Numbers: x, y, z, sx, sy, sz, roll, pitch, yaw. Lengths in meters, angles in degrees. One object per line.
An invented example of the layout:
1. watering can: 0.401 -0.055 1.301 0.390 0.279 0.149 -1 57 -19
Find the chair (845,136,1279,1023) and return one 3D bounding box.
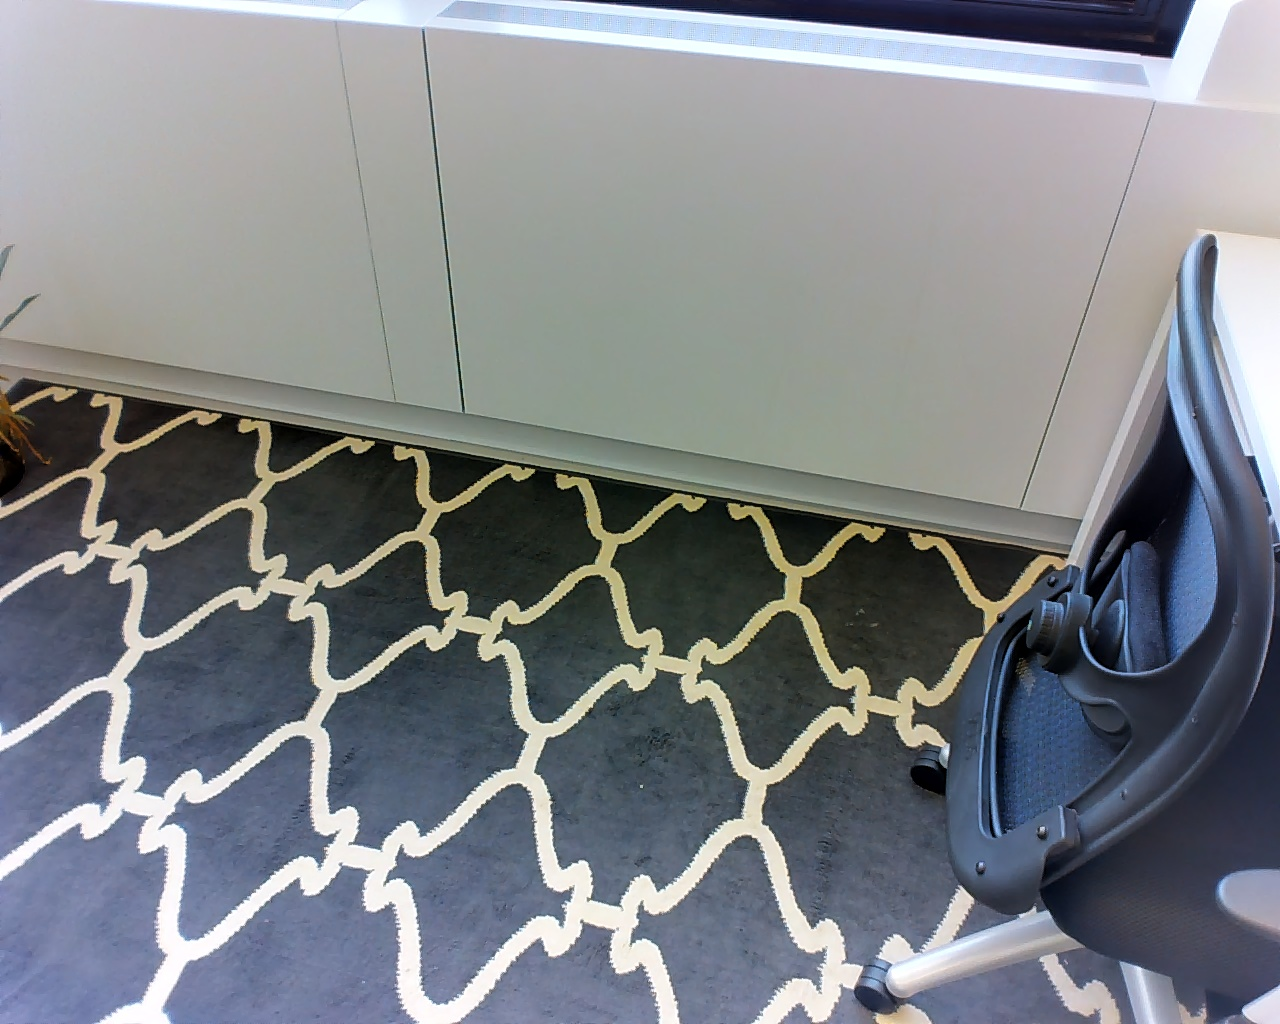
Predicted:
1. chair: 0.710 0.260 1.180 0.790 1.010 0.710 10 42 10
